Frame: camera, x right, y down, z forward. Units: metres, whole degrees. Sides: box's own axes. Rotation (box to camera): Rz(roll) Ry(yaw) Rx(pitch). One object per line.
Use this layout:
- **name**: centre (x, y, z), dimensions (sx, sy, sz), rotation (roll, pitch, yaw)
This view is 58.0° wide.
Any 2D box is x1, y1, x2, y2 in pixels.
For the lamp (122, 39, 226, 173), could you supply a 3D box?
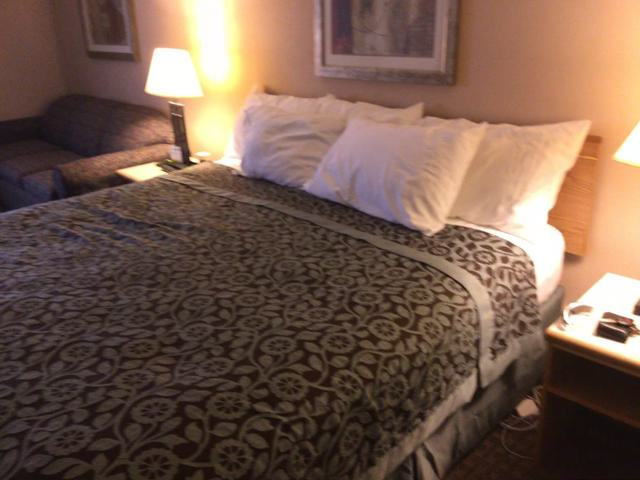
- **lamp**: centre (-0.780, -0.740, 3.130), dimensions (0.330, 0.630, 0.390), rotation (-21, 31, -40)

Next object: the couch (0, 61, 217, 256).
- **couch**: centre (-1.720, -0.710, 4.090), dimensions (0.860, 0.870, 2.050), rotation (-21, 31, -40)
